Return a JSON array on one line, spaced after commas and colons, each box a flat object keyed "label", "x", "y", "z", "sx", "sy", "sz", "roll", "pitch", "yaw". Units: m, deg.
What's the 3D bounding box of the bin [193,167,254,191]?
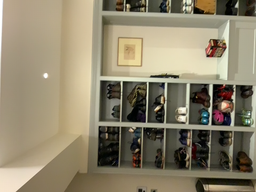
[{"label": "bin", "x": 1.310, "y": 1.210, "z": 2.960, "sx": 0.300, "sy": 0.700, "sz": 0.300, "roll": -101, "pitch": 13, "yaw": -88}]

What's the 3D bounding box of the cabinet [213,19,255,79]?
[{"label": "cabinet", "x": 1.480, "y": -0.630, "z": 2.950, "sx": 0.310, "sy": 0.450, "sz": 0.750, "roll": -127, "pitch": 39, "yaw": -89}]
